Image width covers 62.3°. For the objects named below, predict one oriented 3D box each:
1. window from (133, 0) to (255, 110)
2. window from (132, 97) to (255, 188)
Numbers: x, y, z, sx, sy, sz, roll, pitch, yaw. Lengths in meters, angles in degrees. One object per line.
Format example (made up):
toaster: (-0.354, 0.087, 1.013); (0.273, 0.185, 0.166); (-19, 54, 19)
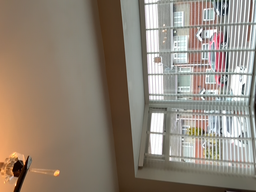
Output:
window: (0.900, -1.130, 2.670); (0.320, 1.620, 2.710); (-59, -34, -63)
window: (0.960, 0.580, 2.920); (0.250, 1.680, 1.110); (63, -149, -61)
